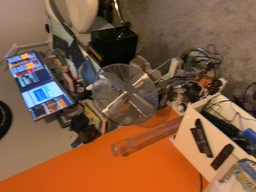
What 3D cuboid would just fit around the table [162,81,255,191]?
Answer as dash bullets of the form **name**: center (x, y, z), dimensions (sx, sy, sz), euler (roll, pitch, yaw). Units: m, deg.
- **table**: center (0.800, 0.490, 1.300), dimensions (1.170, 0.430, 0.490), euler (48, 145, 35)
